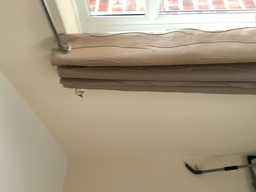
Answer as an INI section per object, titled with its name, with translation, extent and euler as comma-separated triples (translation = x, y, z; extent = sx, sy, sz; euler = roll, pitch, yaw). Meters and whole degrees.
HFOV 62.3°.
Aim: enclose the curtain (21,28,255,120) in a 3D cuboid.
[curtain]
translation = 0.250, -0.090, 1.100
extent = 0.420, 1.370, 0.250
euler = 86, -176, -55
